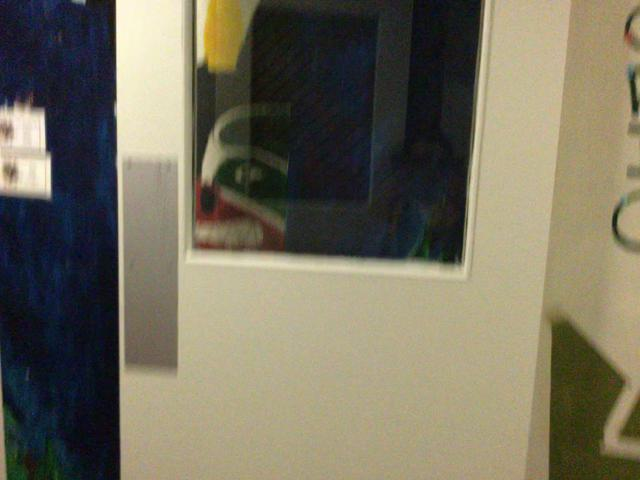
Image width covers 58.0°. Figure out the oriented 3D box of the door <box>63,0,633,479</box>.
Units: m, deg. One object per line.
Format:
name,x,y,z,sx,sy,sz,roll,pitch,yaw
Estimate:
door,-0.010,0.190,1.060,0.850,2.140,0.270,6,11,17
